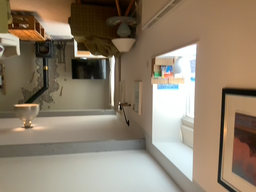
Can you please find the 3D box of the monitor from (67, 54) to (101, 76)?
[{"bbox_3d":[-1.450,-1.000,6.990,1.080,0.680,0.080,-1,-175,-15],"label":"monitor"}]
